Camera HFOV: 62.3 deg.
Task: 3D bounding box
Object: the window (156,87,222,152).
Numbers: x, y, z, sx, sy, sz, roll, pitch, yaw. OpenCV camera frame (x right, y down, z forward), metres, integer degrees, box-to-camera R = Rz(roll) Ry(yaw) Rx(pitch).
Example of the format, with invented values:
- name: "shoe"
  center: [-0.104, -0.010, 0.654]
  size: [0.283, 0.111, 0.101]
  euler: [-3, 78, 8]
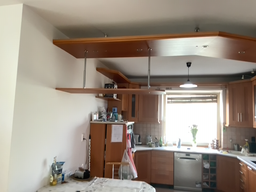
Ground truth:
- name: "window"
  center: [1.550, 0.570, 5.470]
  size: [1.570, 1.580, 0.260]
  euler: [1, -6, 11]
